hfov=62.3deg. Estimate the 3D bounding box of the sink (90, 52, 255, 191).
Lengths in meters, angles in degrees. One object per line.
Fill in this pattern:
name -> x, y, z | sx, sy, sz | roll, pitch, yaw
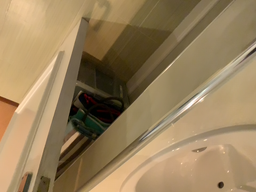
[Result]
sink -> 0.230, 0.230, 0.740 | 0.490, 0.190, 0.590 | 26, 126, -25
